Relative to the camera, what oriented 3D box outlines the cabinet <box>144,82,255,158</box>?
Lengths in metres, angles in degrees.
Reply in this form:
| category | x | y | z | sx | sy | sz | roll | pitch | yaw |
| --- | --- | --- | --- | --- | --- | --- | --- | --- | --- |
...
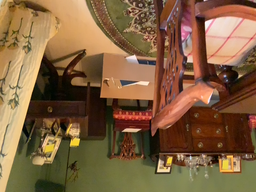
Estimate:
| category | x | y | z | sx | sy | sz | roll | pitch | yaw |
| --- | --- | --- | --- | --- | --- | --- | --- | --- | --- |
| cabinet | 0.960 | 0.380 | 3.040 | 1.330 | 0.940 | 0.600 | 2 | 160 | -8 |
